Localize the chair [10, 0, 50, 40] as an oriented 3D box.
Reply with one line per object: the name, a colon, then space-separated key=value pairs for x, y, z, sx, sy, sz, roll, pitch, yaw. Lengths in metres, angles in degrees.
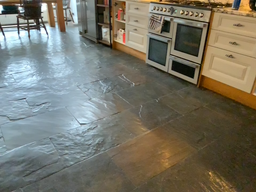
chair: x=-2.140 y=-1.890 z=4.580 sx=0.520 sy=1.150 sz=0.600 roll=-22 pitch=36 yaw=-36
